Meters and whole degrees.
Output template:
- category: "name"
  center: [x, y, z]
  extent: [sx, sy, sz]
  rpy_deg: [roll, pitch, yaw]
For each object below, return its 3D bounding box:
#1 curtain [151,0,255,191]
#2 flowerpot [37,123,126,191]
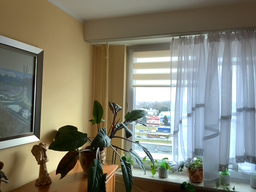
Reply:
- category: "curtain"
  center: [0.950, 0.010, 2.000]
  extent: [1.370, 1.650, 0.330]
  rpy_deg: [2, 0, 17]
- category: "flowerpot"
  center: [-0.330, 0.460, 1.810]
  extent: [0.390, 0.350, 0.790]
  rpy_deg: [2, 0, 18]
